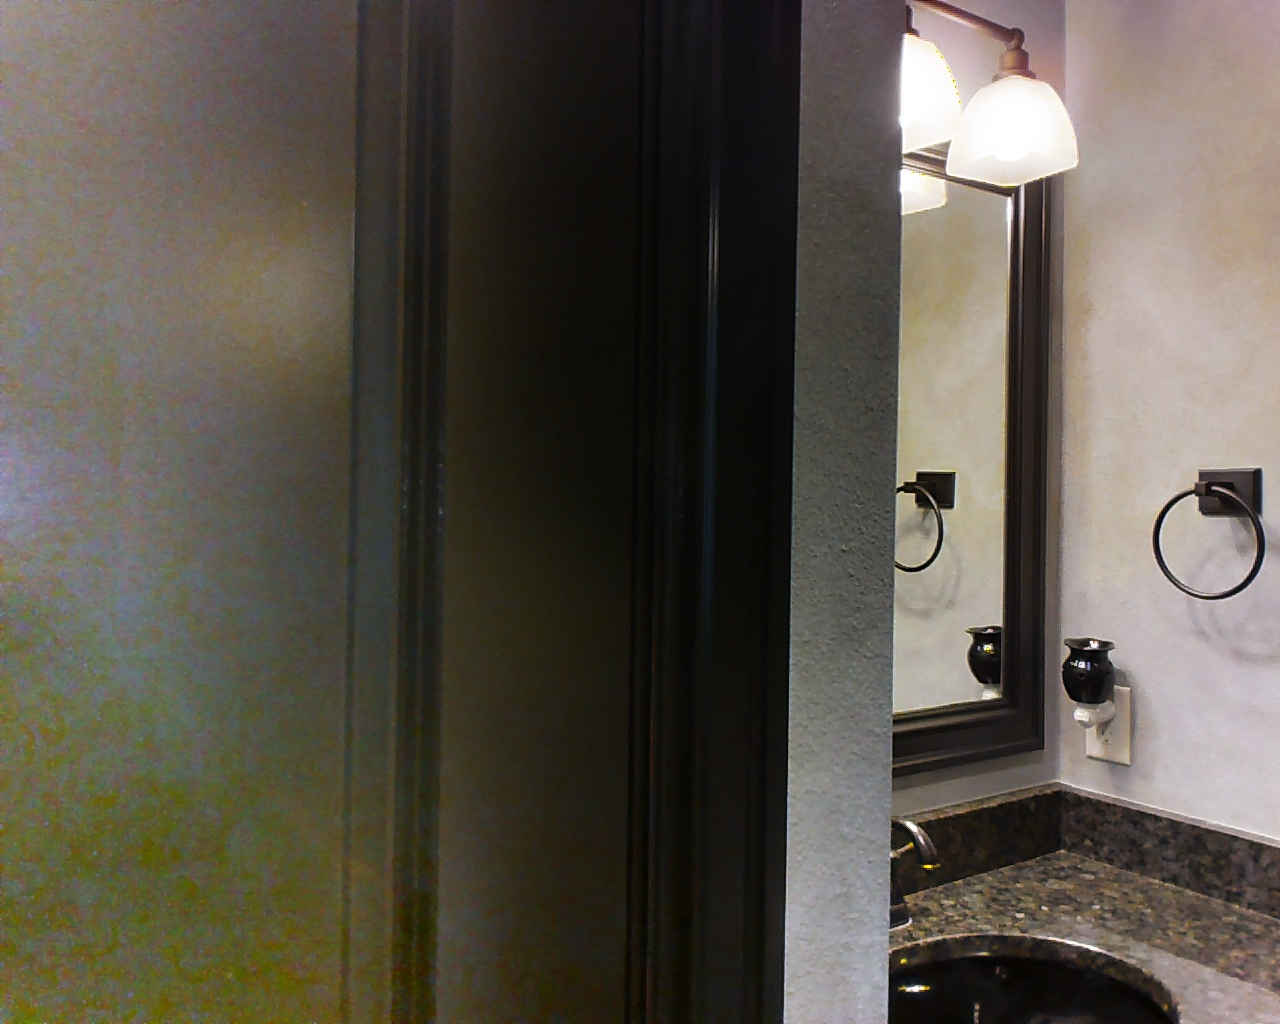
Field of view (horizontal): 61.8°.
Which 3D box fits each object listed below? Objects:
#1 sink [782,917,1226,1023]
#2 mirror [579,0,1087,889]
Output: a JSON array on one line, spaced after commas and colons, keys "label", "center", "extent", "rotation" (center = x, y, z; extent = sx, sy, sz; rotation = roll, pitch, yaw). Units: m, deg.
[{"label": "sink", "center": [0.420, 0.650, 1.240], "extent": [0.410, 0.180, 0.300], "rotation": [0, 0, -34]}, {"label": "mirror", "center": [0.320, -0.160, 1.480], "extent": [0.890, 1.180, 0.060], "rotation": [0, 0, -34]}]
